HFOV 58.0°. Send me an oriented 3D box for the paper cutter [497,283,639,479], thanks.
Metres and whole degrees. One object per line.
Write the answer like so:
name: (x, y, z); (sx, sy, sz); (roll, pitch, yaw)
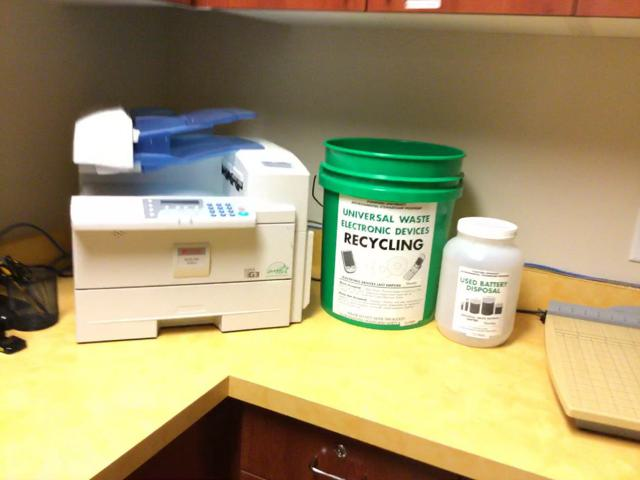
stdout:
paper cutter: (0.560, 0.230, 0.990); (0.400, 0.100, 0.560); (11, 15, 24)
